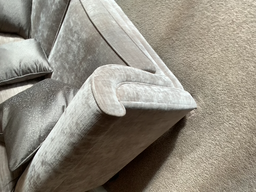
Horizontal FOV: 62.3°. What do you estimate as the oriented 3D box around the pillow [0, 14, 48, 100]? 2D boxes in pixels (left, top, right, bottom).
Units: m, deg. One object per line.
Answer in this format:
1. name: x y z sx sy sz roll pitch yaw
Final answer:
1. pillow: -0.700 -0.240 1.330 0.160 0.330 0.410 -31 52 10
